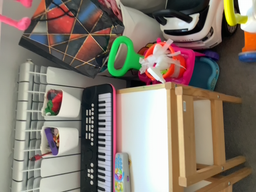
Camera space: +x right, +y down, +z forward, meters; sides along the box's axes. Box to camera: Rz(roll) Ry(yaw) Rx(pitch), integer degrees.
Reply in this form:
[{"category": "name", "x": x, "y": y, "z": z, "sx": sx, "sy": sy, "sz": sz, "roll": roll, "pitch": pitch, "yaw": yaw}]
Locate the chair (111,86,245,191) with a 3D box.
[{"category": "chair", "x": 0.220, "y": 0.150, "z": 0.890, "sx": 0.330, "sy": 0.480, "sz": 0.300, "roll": -7, "pitch": 81, "yaw": 45}]
